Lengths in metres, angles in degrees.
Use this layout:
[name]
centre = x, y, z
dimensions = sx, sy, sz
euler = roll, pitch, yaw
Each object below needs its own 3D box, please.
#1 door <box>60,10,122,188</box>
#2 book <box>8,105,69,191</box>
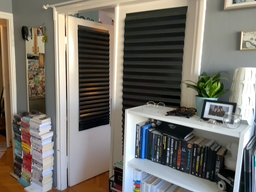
[door]
centre = -0.440, 0.040, 2.690
dimensions = 0.110, 1.950, 0.920
euler = 9, 11, 35
[book]
centre = -1.110, 0.590, 2.630
dimensions = 0.720, 0.820, 0.380
euler = 10, 11, 38
